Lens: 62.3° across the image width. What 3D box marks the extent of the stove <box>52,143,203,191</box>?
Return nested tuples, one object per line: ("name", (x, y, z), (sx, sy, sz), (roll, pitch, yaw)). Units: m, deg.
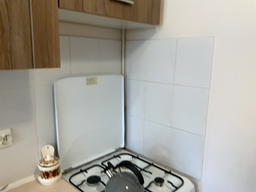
("stove", (-0.010, 0.510, 1.180), (0.630, 0.150, 0.540), (13, 16, 42))
